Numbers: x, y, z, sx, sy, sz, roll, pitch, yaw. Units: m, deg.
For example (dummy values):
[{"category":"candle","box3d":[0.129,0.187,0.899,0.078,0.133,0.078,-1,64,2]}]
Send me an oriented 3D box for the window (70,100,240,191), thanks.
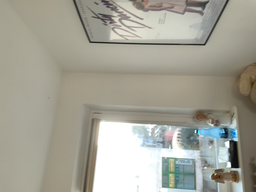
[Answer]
[{"category":"window","box3d":[0.230,0.820,1.970,0.160,1.500,1.510,79,-166,-72]}]
